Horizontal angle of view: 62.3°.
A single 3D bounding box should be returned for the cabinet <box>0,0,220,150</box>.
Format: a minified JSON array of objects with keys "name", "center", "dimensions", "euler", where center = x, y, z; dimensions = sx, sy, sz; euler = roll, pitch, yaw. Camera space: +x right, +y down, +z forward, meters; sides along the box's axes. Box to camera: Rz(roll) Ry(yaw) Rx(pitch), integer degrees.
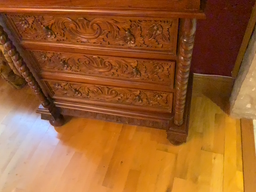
[{"name":"cabinet","center":[-0.110,-0.290,1.120],"dimensions":[0.970,1.140,0.500],"euler":[9,53,15]}]
